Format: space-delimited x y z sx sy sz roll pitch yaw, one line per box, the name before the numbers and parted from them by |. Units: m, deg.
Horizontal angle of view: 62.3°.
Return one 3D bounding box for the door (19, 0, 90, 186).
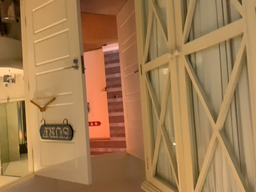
door | -0.790 -0.170 2.170 0.840 2.030 0.030 -6 178 31
